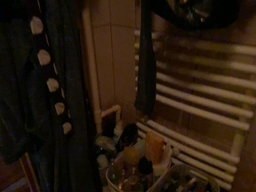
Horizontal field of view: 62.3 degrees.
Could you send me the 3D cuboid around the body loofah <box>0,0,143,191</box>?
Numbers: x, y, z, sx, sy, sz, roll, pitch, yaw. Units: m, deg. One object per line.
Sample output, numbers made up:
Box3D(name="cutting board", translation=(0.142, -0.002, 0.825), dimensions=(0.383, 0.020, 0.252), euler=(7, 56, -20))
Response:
Box3D(name="body loofah", translation=(-0.170, -0.030, 0.730), dimensions=(0.320, 1.320, 0.280), euler=(21, 37, 38))
